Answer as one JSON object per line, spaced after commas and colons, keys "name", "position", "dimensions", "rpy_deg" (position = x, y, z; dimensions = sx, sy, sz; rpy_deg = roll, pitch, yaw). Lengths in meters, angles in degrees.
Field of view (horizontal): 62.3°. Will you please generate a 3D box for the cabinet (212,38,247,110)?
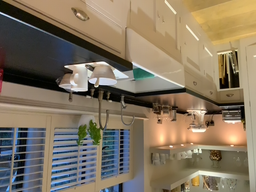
{"name": "cabinet", "position": [1.560, -0.280, 3.240], "dimensions": [0.340, 0.920, 0.760], "rpy_deg": [-5, 170, 33]}
